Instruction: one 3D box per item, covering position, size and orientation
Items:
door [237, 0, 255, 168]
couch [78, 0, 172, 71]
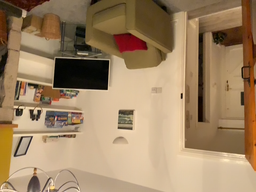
[{"bbox_3d":[1.140,-0.370,2.060,0.120,1.920,0.780,-1,173,27],"label":"door"},{"bbox_3d":[0.000,-0.860,2.810,0.810,0.780,0.970,-4,172,38],"label":"couch"}]
